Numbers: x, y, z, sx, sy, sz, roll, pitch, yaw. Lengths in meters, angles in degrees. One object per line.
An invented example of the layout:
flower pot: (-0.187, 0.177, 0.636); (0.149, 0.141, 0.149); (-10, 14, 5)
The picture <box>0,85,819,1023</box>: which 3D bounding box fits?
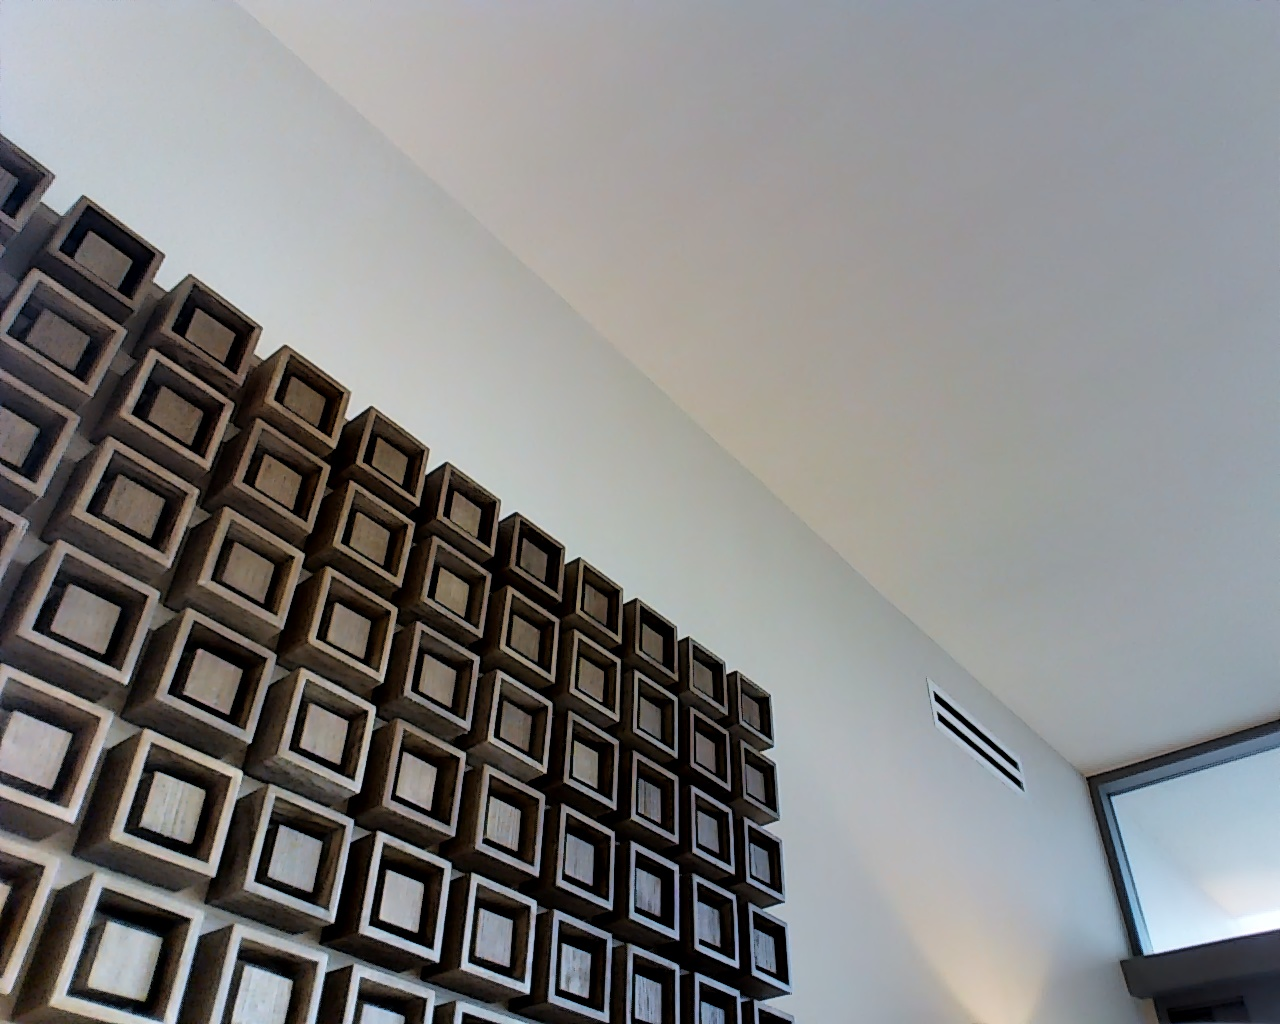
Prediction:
picture: (-0.370, 0.460, 1.400); (0.110, 1.560, 2.020); (-29, -49, 30)
